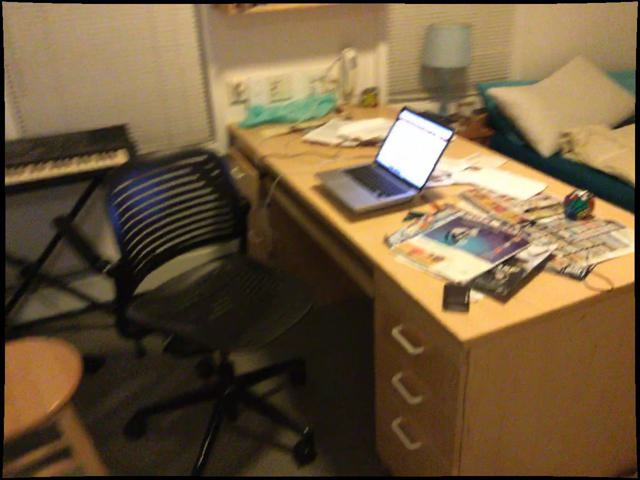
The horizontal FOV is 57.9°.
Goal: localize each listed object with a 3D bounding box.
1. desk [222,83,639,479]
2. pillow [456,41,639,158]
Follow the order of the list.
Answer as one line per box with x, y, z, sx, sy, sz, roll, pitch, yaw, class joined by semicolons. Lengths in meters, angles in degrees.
0.310;0.050;2.160;0.809;0.791;1.800;-14;30;-19;desk
1.489;-0.791;3.060;1.399;0.300;0.580;-14;30;-19;pillow
